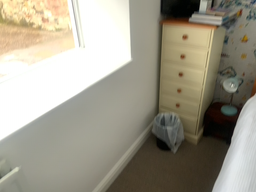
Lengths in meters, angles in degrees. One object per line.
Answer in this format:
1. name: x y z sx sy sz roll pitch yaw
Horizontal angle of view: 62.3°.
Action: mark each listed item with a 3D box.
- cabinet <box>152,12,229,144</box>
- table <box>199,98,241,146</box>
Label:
1. cabinet: 0.550 -0.170 1.990 0.440 1.070 0.460 18 36 30
2. table: 0.890 0.240 2.060 0.260 0.270 0.330 18 36 30
